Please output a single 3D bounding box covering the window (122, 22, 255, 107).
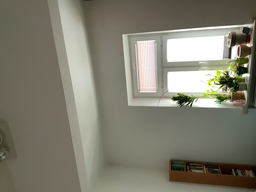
[{"bbox_3d":[0.910,-0.470,3.500,0.170,1.970,1.280,-48,-43,-70],"label":"window"}]
